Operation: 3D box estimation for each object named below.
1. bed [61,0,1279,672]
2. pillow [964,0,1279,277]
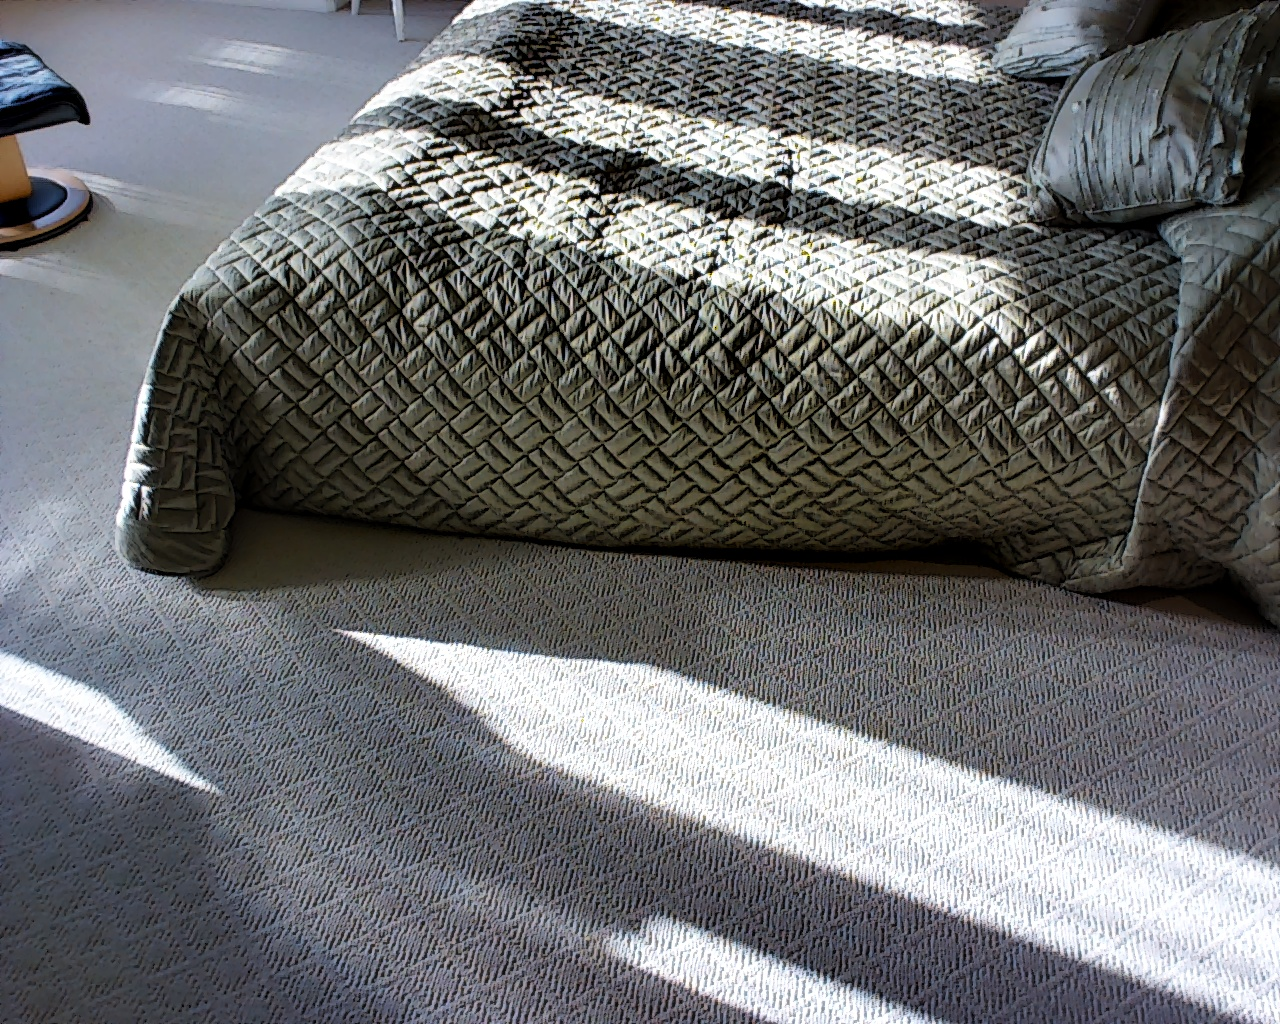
[{"bbox_3d":[0.560,-0.920,2.370,2.440,1.140,2.050,8,42,7],"label":"bed"},{"bbox_3d":[0.970,-0.760,2.030,0.440,0.380,0.530,-5,42,-8],"label":"pillow"}]
